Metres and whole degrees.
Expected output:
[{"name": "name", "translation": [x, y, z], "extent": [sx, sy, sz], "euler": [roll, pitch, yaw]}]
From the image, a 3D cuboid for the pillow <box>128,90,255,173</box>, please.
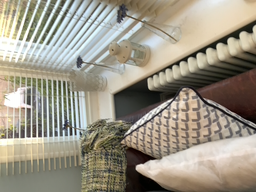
[{"name": "pillow", "translation": [0.200, 0.170, 0.820], "extent": [0.460, 0.380, 0.160], "euler": [89, 173, -67]}]
